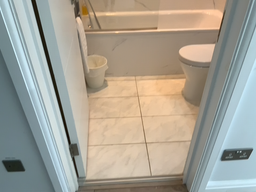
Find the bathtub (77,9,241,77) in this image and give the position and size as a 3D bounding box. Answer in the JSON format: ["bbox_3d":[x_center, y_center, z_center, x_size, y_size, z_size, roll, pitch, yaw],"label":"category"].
[{"bbox_3d":[0.300,-0.660,2.530,1.640,0.520,0.680,-2,37,-3],"label":"bathtub"}]

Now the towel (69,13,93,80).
[{"bbox_3d":[-0.400,-0.430,1.880,0.100,0.510,0.280,0,37,0],"label":"towel"}]

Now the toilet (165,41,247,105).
[{"bbox_3d":[0.690,-0.220,2.010,0.550,0.450,0.390,-2,37,-3],"label":"toilet"}]
